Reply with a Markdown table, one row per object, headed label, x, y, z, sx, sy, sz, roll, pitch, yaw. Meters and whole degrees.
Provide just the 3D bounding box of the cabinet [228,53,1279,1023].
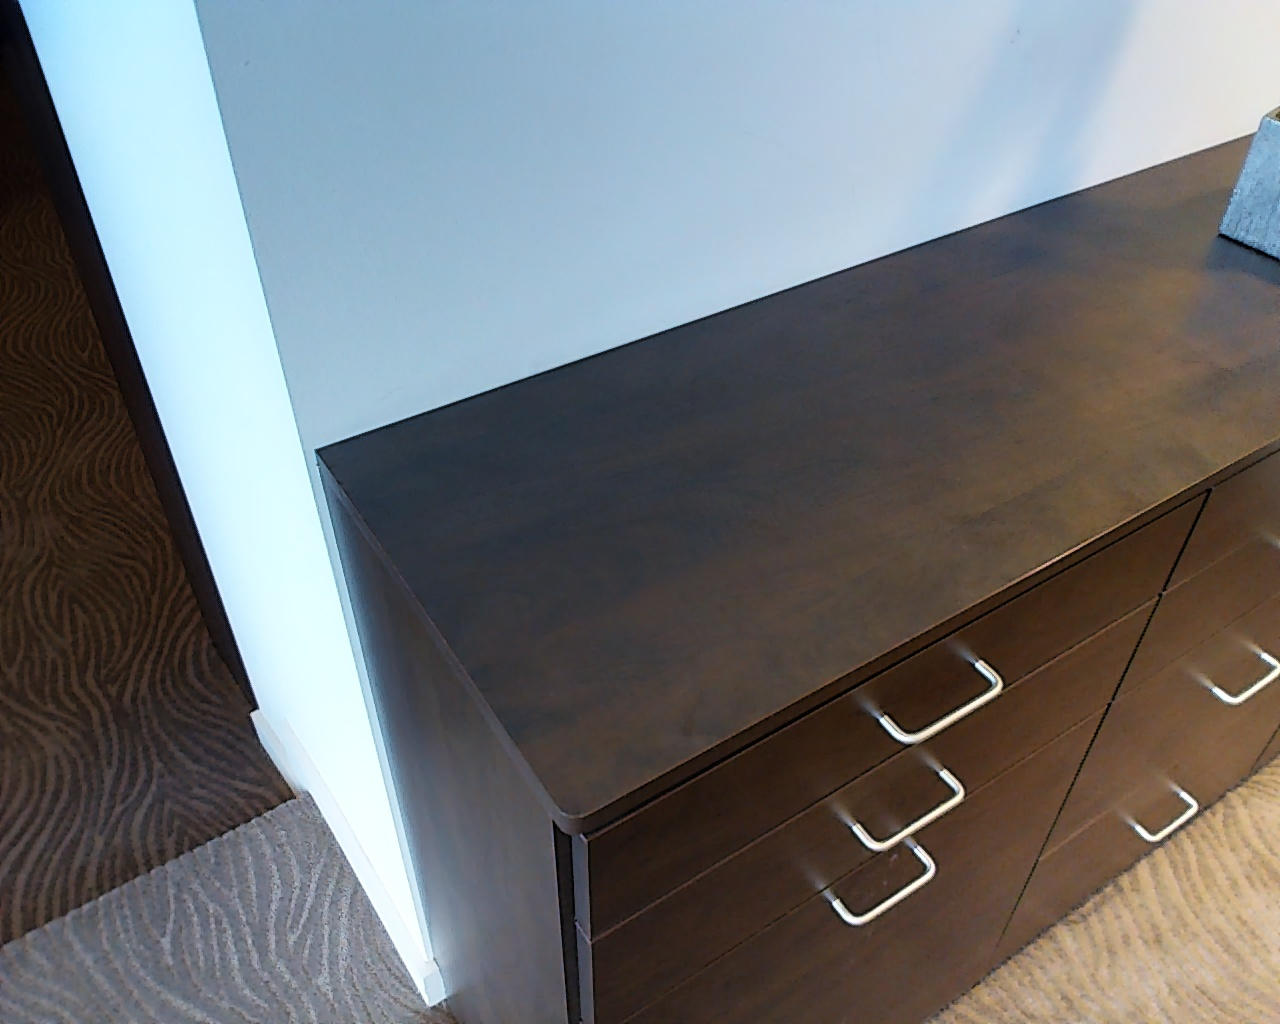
| label | x | y | z | sx | sy | sz | roll | pitch | yaw |
| --- | --- | --- | --- | --- | --- | --- | --- | --- | --- |
| cabinet | 0.730 | 0.020 | 1.560 | 2.280 | 1.040 | 0.500 | -25 | 47 | -28 |
